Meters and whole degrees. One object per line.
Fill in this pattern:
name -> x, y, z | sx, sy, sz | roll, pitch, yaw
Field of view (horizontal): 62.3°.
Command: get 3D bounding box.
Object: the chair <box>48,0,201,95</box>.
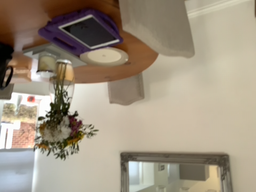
chair -> -0.040, -0.560, 1.050 | 0.420, 0.980, 0.550 | 11, 163, -43

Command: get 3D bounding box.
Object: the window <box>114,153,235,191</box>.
window -> 0.320, 0.840, 1.680 | 0.960, 0.720, 0.110 | -7, 166, 29

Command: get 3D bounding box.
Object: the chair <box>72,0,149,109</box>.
chair -> -0.130, -0.400, 1.890 | 0.420, 0.940, 0.530 | -7, 166, 28
